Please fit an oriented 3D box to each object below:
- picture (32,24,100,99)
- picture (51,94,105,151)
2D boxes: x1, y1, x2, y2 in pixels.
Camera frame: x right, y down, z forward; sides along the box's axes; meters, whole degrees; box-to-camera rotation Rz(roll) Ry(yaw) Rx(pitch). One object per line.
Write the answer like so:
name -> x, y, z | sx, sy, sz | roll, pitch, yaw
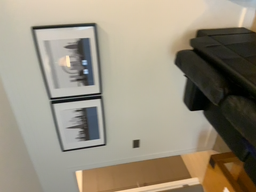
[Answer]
picture -> -0.540, -0.300, 1.980 | 0.040, 0.510, 0.700 | -109, 16, -55
picture -> -0.540, 0.320, 2.410 | 0.040, 0.510, 0.720 | -109, 16, -55
